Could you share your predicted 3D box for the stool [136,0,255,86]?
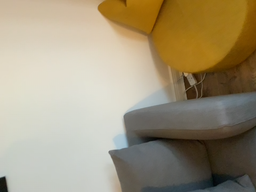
[{"bbox_3d":[0.440,-0.470,1.320,0.710,0.330,0.670,-13,87,55],"label":"stool"}]
